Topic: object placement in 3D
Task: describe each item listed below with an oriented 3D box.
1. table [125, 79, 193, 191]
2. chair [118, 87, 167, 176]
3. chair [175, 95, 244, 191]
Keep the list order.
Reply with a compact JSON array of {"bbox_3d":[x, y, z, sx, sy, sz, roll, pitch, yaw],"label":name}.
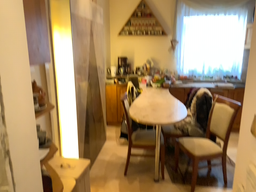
[{"bbox_3d":[0.430,0.360,3.290,0.650,0.880,2.400,2,14,7],"label":"table"},{"bbox_3d":[0.180,0.430,2.700,0.550,1.010,0.430,2,14,6],"label":"chair"},{"bbox_3d":[0.920,0.520,2.490,0.530,0.960,0.420,-4,14,-15],"label":"chair"}]
